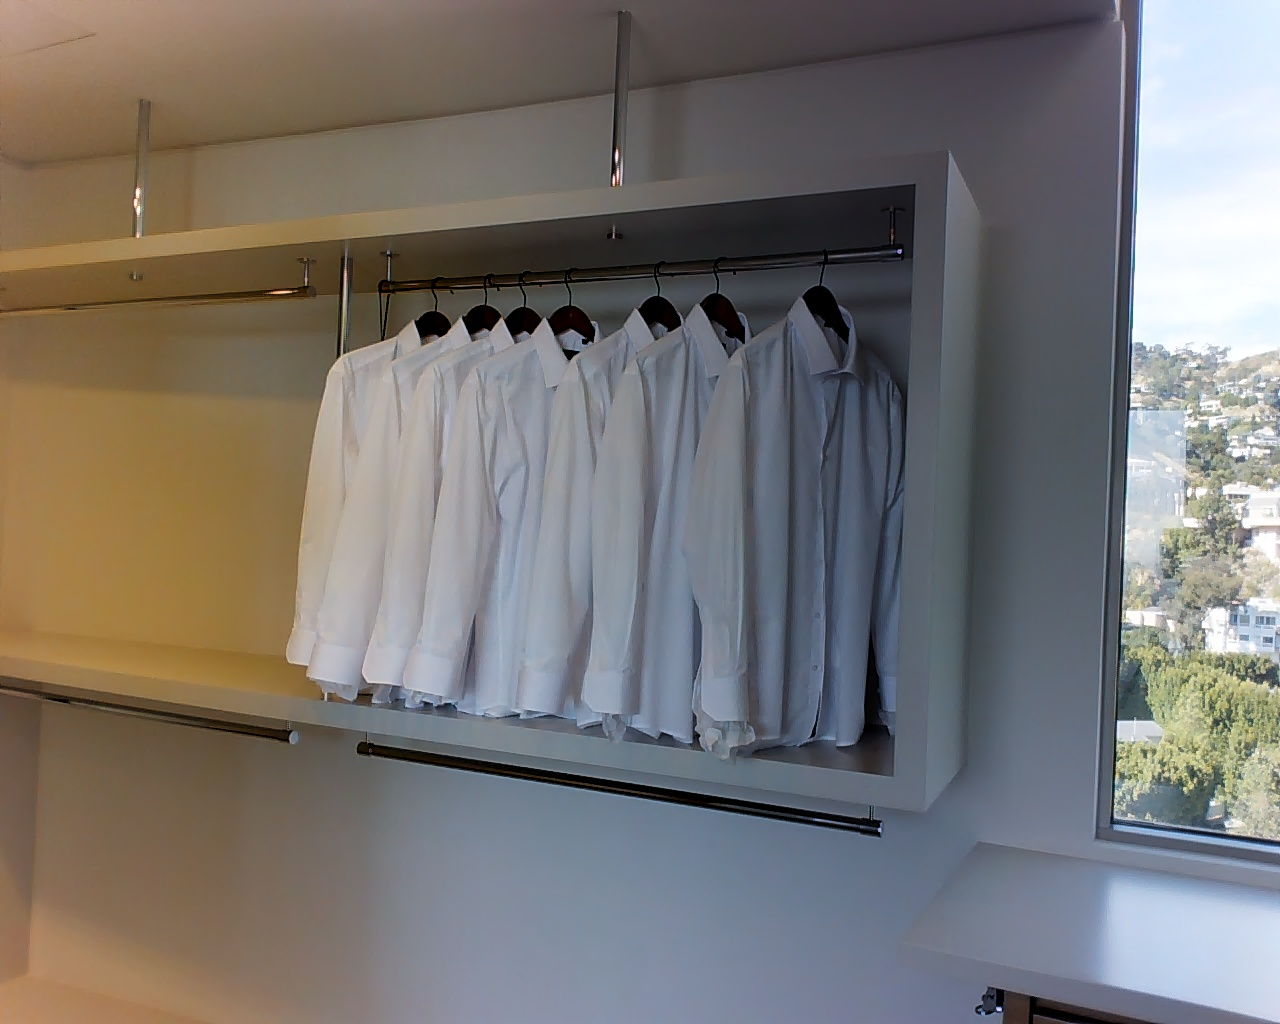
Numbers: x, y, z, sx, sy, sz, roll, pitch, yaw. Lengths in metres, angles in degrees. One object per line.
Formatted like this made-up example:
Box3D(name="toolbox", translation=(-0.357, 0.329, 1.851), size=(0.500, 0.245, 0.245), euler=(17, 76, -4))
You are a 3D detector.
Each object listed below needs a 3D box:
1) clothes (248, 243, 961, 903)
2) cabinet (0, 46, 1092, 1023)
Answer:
Box3D(name="clothes", translation=(-0.070, 0.080, 2.200), size=(1.300, 1.030, 0.570), euler=(2, -1, 23))
Box3D(name="cabinet", translation=(-0.630, 0.360, 2.590), size=(3.080, 2.290, 0.540), euler=(2, -1, 25))
